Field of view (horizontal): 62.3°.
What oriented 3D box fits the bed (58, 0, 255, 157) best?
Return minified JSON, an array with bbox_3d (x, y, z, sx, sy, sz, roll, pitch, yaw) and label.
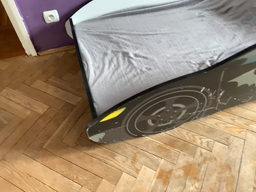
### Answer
[{"bbox_3d":[0.500,-0.390,1.230,1.620,0.500,0.850,-16,52,-11],"label":"bed"}]
